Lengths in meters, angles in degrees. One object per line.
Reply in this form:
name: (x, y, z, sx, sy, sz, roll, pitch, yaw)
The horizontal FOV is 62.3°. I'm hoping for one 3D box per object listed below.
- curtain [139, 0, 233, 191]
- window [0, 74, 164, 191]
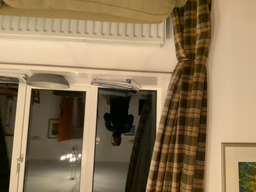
curtain: (0.340, 0.250, 1.310, 0.510, 2.000, 0.190, 2, 174, -1)
window: (-0.600, 0.480, 1.710, 1.750, 1.270, 0.110, 2, 174, -3)
